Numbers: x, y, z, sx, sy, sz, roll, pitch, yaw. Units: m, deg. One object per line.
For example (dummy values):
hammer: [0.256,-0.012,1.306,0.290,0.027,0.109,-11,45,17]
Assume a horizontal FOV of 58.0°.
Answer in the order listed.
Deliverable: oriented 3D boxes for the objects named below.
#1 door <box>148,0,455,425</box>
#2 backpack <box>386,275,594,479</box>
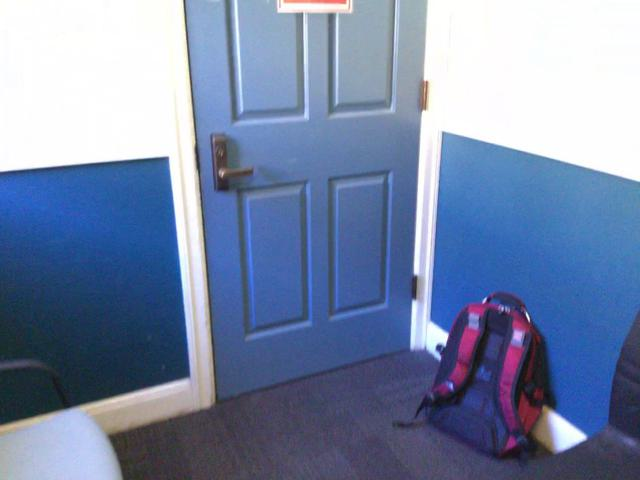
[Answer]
door: [-0.010,-0.110,2.180,1.070,1.480,0.130,-8,19,-22]
backpack: [0.580,0.470,2.060,0.270,0.500,0.500,19,7,-35]
